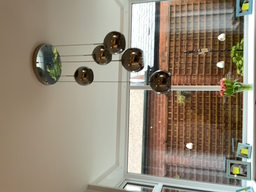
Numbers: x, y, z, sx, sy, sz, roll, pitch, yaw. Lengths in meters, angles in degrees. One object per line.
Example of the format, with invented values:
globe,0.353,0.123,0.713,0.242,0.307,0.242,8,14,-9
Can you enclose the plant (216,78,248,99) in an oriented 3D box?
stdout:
plant,1.400,-0.100,2.880,0.360,0.330,0.260,0,-89,-74
